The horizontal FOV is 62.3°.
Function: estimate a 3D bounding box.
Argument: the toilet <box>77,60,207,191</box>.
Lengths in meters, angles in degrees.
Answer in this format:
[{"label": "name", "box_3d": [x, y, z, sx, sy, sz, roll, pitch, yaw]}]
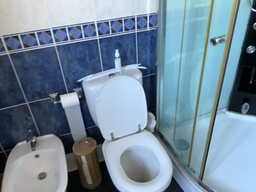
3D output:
[{"label": "toilet", "box_3d": [0.030, 0.320, 1.370, 0.450, 0.830, 0.700, -14, 35, -16]}]

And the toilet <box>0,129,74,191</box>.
[{"label": "toilet", "box_3d": [-0.570, 0.590, 1.370, 0.370, 0.410, 0.550, -14, 35, -16]}]
